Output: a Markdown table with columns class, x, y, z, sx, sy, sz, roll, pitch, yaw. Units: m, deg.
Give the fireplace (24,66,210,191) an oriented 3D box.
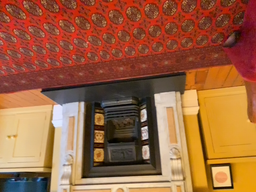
| class | x | y | z | sx | sy | sz | roll | pitch | yaw |
| --- | --- | --- | --- | --- | --- | --- | --- | --- | --- |
| fireplace | -0.120 | 0.530 | 2.470 | 1.760 | 1.330 | 0.760 | -6 | 160 | 10 |
